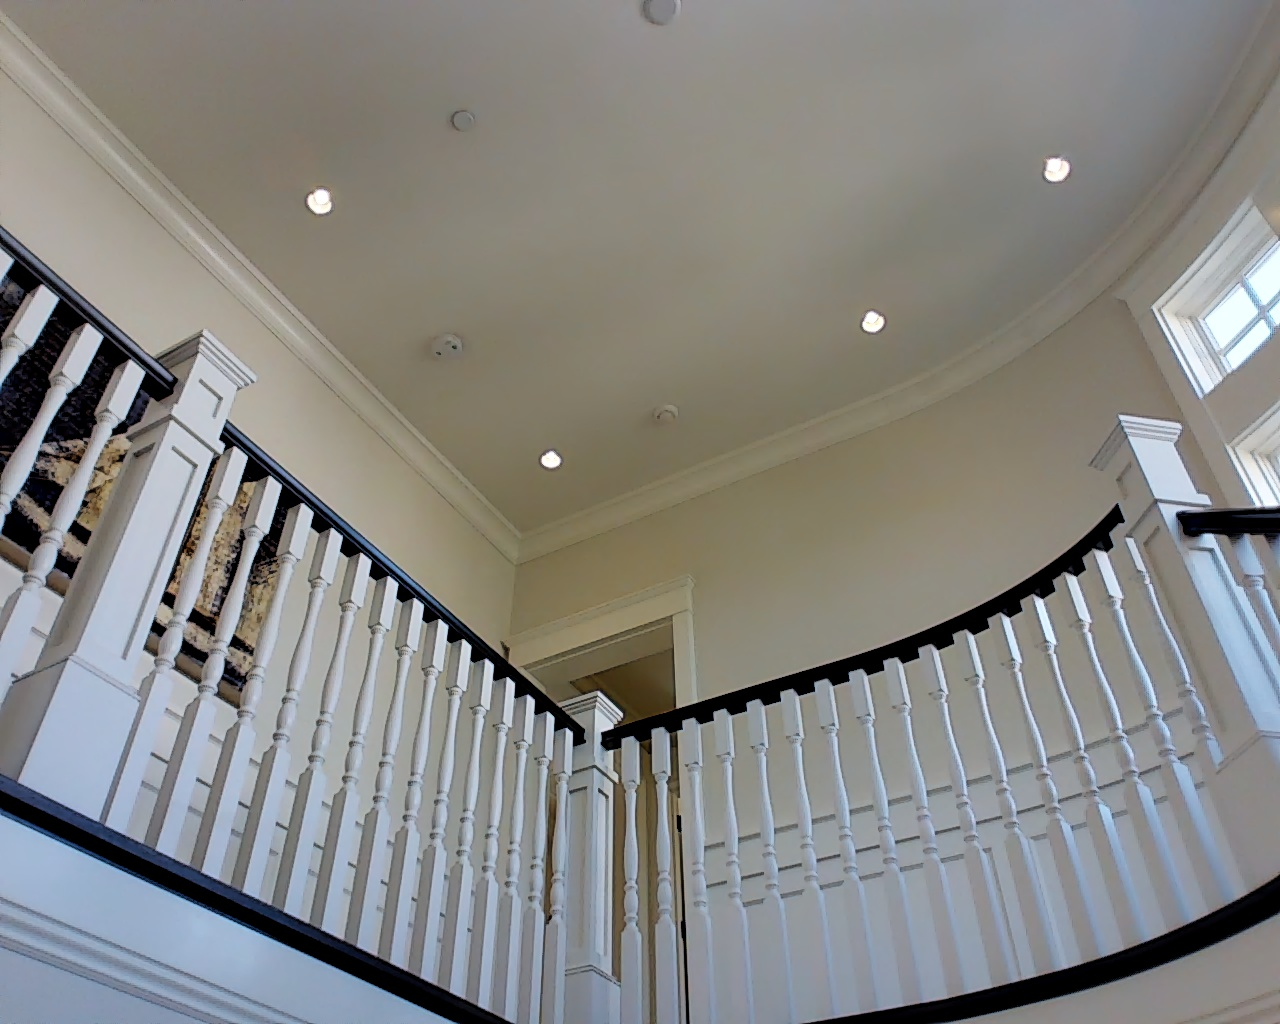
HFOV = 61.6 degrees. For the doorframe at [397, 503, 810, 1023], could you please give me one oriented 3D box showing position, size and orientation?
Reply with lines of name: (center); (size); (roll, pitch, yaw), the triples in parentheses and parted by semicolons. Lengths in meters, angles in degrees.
doorframe: (-0.140, 1.431, 4.840); (1.399, 2.671, 0.870); (-21, -46, 21)
